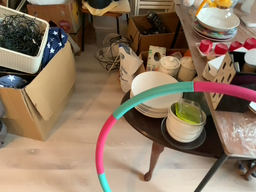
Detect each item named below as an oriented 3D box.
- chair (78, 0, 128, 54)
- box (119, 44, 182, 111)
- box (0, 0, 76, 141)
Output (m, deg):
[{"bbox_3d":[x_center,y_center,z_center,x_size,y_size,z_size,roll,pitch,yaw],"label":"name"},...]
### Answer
[{"bbox_3d":[-0.230,-0.890,2.130,0.430,0.760,0.490,3,48,-3],"label":"chair"},{"bbox_3d":[0.160,-0.150,1.810,0.440,0.410,0.360,3,48,-3],"label":"box"},{"bbox_3d":[-0.860,-0.240,1.430,0.750,0.820,0.640,8,48,2],"label":"box"}]
